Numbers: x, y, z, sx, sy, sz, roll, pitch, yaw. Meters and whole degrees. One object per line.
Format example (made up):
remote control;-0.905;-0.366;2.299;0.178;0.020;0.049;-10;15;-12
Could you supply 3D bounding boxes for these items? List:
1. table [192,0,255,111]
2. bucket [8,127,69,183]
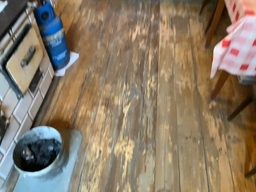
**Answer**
table;1.020;-0.440;1.590;0.810;0.770;0.820;5;52;3
bucket;-0.540;0.370;1.330;0.240;0.190;0.280;2;52;1
